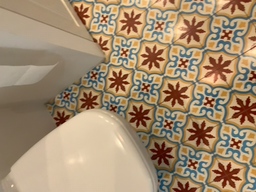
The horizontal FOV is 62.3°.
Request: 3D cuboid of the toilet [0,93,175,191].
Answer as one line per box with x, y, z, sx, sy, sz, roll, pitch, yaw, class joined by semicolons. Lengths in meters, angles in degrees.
-0.170;0.280;0.750;0.540;0.210;0.340;-33;82;18;toilet
